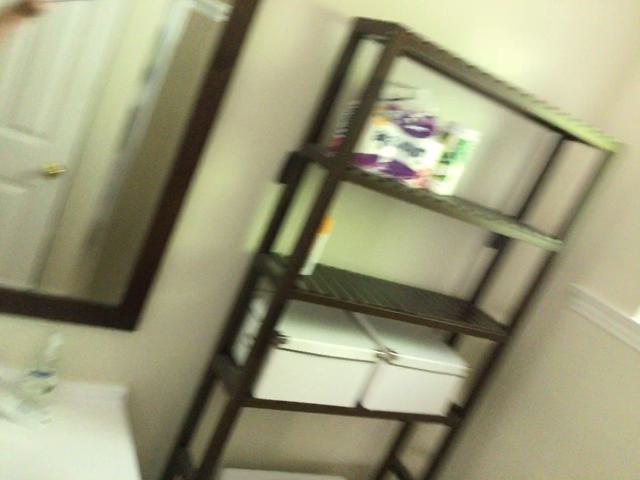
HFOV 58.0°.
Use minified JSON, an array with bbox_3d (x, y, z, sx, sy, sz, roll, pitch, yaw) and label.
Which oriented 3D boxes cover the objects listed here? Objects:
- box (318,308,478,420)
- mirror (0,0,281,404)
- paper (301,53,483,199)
[{"bbox_3d":[0.190,0.310,1.440,0.300,0.150,0.210,15,15,-32],"label":"box"},{"bbox_3d":[-0.550,-0.210,0.960,0.770,1.010,0.110,15,15,-32],"label":"mirror"},{"bbox_3d":[0.140,-0.230,1.170,0.250,0.180,0.200,15,15,-32],"label":"paper"}]
